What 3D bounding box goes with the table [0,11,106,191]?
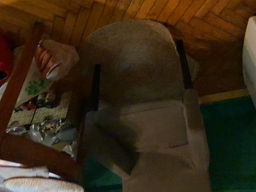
[{"bbox_3d":[-0.830,0.230,1.400,1.030,0.770,1.010,-10,143,12],"label":"table"}]
